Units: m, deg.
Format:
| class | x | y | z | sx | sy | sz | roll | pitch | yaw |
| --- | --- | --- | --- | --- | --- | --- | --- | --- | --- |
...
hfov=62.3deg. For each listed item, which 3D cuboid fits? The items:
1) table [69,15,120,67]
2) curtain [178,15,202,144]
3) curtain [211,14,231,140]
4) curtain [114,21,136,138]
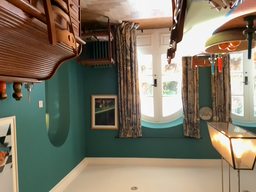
| class | x | y | z | sx | sy | sz | roll | pitch | yaw |
| --- | --- | --- | --- | --- | --- | --- | --- | --- | --- |
| table | -0.590 | -0.970 | 3.910 | 0.740 | 0.760 | 0.590 | -1 | -178 | 10 |
| curtain | 1.120 | -0.280 | 3.830 | 0.350 | 2.250 | 0.190 | -1 | -178 | 5 |
| curtain | 1.670 | -0.330 | 3.810 | 0.270 | 2.210 | 0.140 | -1 | -178 | 5 |
| curtain | -0.060 | -0.290 | 4.020 | 0.330 | 2.160 | 0.180 | -1 | -178 | 8 |
